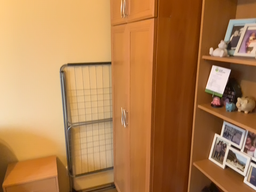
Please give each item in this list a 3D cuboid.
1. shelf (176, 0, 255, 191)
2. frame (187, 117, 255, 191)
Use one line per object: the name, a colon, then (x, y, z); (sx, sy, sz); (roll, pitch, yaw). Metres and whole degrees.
shelf: (0.570, 0.340, 1.060); (0.330, 1.740, 0.610); (-5, 16, -18)
frame: (0.550, 0.330, 1.120); (0.210, 0.270, 0.470); (-5, 16, -19)
